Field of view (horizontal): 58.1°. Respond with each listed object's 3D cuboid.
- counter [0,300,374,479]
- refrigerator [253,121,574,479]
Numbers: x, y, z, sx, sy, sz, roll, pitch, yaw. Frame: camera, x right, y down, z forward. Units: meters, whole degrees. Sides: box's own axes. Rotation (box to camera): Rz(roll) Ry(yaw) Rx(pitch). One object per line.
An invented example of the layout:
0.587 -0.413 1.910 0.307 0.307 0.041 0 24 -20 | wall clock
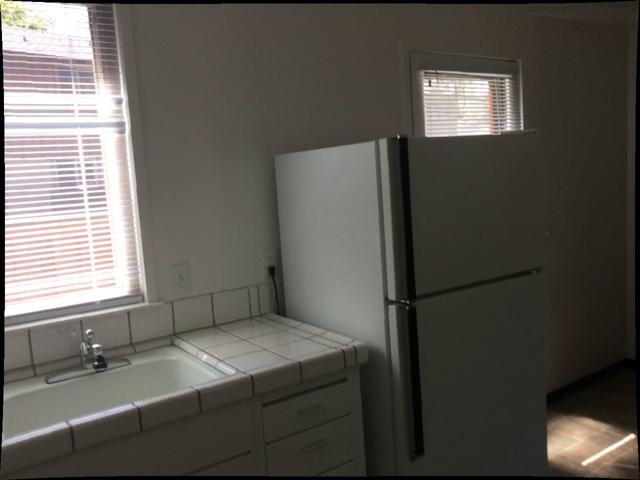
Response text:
-0.899 0.491 1.520 2.128 0.120 0.640 -10 12 -32 | counter
0.369 0.391 2.270 0.879 1.613 0.780 -10 11 -32 | refrigerator
